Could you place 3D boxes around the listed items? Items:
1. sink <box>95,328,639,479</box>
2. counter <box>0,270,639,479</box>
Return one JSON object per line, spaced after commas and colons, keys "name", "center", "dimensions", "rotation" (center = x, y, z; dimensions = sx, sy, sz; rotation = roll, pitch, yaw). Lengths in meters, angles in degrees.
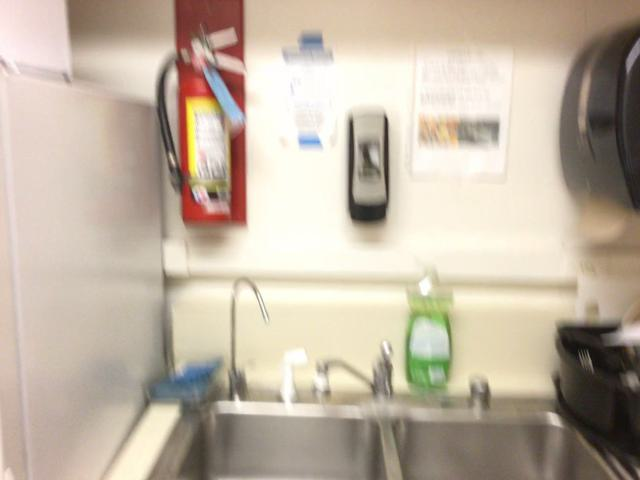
{"name": "sink", "center": [0.160, 0.420, 1.080], "dimensions": [0.930, 0.290, 0.580], "rotation": [2, 13, 0]}
{"name": "counter", "center": [0.550, 0.340, 0.950], "dimensions": [1.840, 0.280, 0.960], "rotation": [2, 13, 0]}
